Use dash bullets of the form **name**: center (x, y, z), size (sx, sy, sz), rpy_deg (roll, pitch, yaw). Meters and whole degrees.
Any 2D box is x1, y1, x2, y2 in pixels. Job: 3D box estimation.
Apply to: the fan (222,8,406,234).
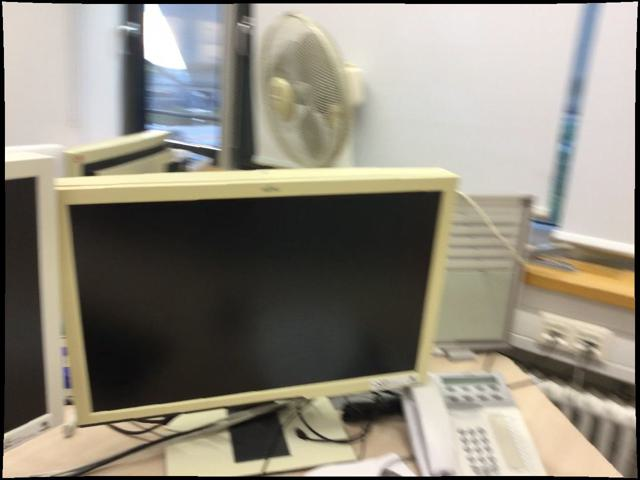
- **fan**: center (-0.030, -0.370, 1.740), size (0.350, 0.571, 0.410), rpy_deg (-13, 22, -36)
